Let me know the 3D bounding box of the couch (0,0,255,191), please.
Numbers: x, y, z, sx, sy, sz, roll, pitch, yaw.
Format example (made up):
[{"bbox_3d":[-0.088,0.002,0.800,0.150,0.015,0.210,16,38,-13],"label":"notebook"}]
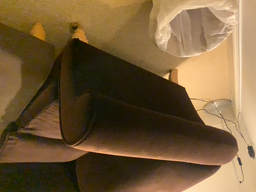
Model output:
[{"bbox_3d":[-0.260,0.300,1.450,1.020,0.730,1.580,20,142,-36],"label":"couch"}]
